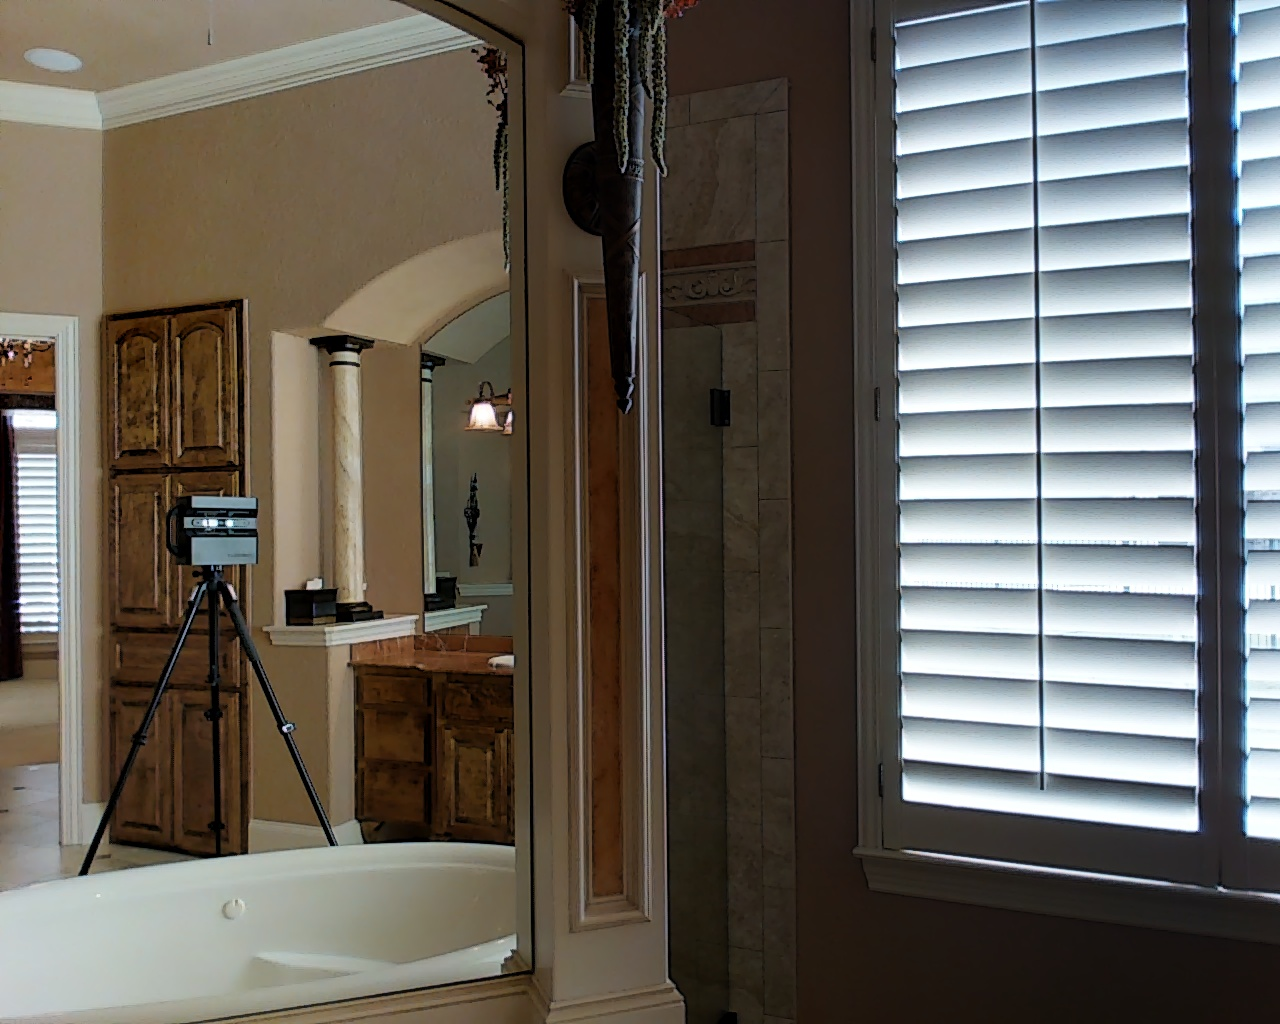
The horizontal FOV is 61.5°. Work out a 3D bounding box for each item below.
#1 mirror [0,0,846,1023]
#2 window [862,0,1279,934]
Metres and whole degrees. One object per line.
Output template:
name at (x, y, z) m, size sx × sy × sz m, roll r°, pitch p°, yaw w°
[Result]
mirror at (-0.620, -0.210, 1.710) m, size 1.789 × 2.411 × 0.590 m, roll 0°, pitch -1°, yaw -20°
window at (1.260, -0.240, 2.260) m, size 1.540 × 2.181 × 0.130 m, roll -1°, pitch -1°, yaw 25°
